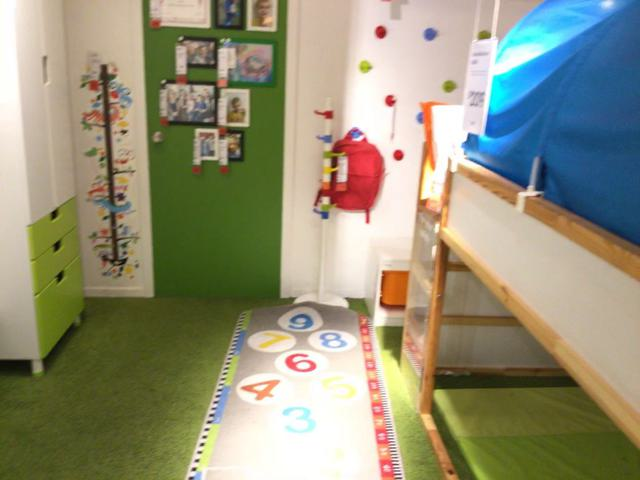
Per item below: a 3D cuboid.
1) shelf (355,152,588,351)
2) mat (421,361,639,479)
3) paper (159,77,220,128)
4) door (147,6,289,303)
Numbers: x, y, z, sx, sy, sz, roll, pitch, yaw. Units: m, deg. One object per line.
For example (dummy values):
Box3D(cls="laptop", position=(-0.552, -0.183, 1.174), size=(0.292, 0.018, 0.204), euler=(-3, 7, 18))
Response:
Box3D(cls="shelf", position=(0.810, 0.050, 3.370), size=(1.080, 0.960, 0.530), euler=(5, 15, -2))
Box3D(cls="mat", position=(0.970, 0.860, 2.010), size=(0.840, 0.160, 1.500), euler=(4, 15, -7))
Box3D(cls="paper", position=(-0.740, -0.780, 3.280), size=(0.330, 0.250, 0.040), euler=(4, 15, -7))
Box3D(cls="door", position=(-0.620, -0.440, 3.390), size=(0.740, 1.670, 0.060), euler=(4, 15, -7))
